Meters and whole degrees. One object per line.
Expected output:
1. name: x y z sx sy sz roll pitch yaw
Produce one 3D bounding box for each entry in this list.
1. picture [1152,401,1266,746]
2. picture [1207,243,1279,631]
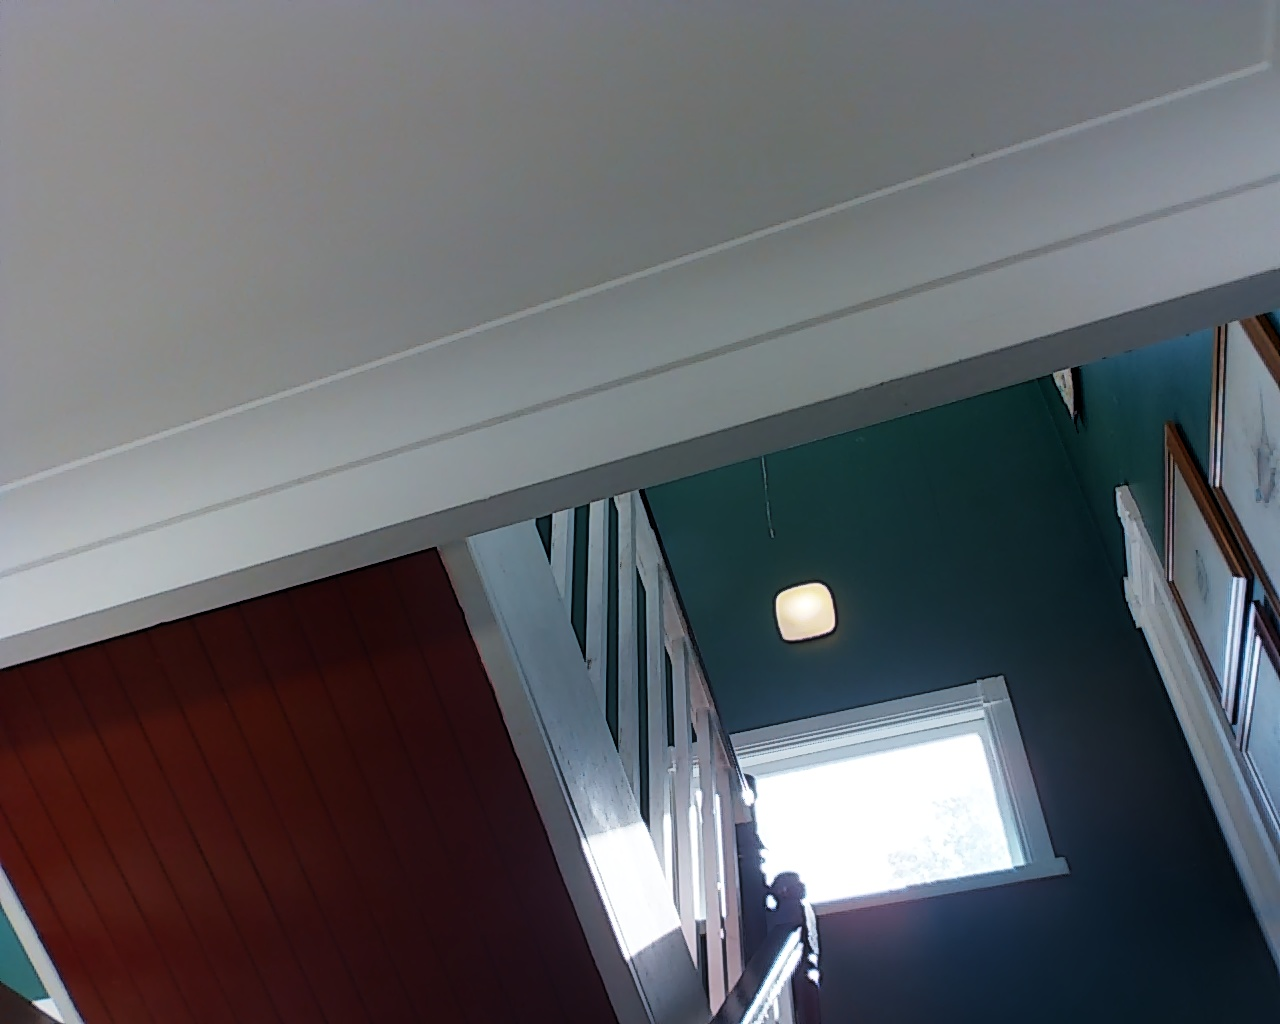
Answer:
1. picture: 1.289 0.150 2.450 0.040 0.520 0.650 -16 -43 15
2. picture: 1.059 -0.060 1.800 0.030 0.490 0.620 -16 -43 15
